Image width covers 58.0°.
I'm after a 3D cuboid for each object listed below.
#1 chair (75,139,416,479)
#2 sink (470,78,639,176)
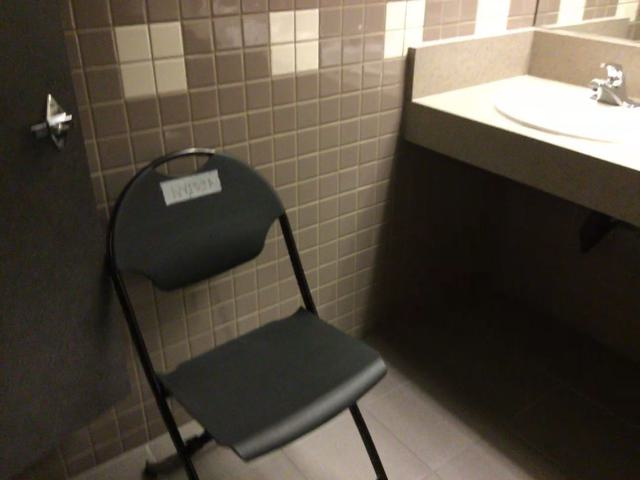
[{"bbox_3d":[-0.170,0.270,1.370,0.480,0.840,0.560,-18,31,-33],"label":"chair"},{"bbox_3d":[0.710,-0.330,1.590,0.390,0.130,0.410,-18,30,-33],"label":"sink"}]
